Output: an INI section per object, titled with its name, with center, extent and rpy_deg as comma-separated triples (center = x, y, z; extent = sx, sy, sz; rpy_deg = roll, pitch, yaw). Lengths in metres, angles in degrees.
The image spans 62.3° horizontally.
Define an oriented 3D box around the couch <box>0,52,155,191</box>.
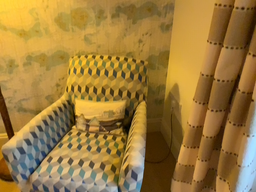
[couch]
center = -0.230, 0.260, 1.410
extent = 0.720, 0.840, 0.830
rpy_deg = 5, 28, 7
